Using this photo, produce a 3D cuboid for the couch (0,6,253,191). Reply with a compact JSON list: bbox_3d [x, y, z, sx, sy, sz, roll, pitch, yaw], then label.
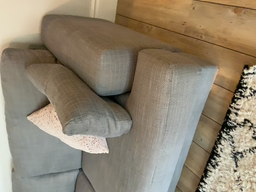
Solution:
[{"bbox_3d":[-0.340,0.720,1.560,1.160,0.820,2.330,38,126,43],"label":"couch"}]
